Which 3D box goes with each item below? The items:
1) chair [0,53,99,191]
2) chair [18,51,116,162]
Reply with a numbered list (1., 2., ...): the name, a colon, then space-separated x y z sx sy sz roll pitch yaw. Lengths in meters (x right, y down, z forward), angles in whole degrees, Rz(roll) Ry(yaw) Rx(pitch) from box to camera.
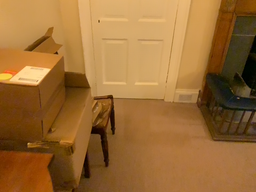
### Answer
1. chair: -0.490 0.320 1.260 0.500 0.970 0.570 3 33 2
2. chair: -0.420 0.090 1.770 0.590 0.790 0.440 3 33 2
